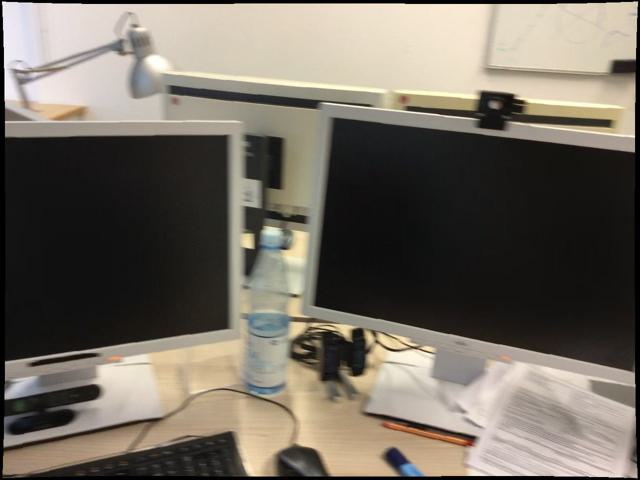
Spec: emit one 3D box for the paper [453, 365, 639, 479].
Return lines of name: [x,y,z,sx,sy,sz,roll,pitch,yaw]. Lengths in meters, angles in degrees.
paper: [0.390,0.340,0.920,0.330,0.030,0.380,6,22,8]

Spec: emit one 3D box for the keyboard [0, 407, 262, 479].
keyboard: [-0.310,0.360,0.780,0.460,0.030,0.280,-4,23,-16]

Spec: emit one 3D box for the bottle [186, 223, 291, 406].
bottle: [-0.140,0.130,1.050,0.160,0.270,0.180,2,22,-2]

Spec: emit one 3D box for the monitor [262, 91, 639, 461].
monitor: [0.230,0.050,0.930,0.619,0.500,0.280,2,22,-2]

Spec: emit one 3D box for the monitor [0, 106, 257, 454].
monitor: [-0.450,0.060,0.930,0.659,0.500,0.200,-6,24,-20]

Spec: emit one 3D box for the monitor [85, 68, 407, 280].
monitor: [-0.170,-0.170,1.460,0.699,0.450,0.250,2,22,-2]
